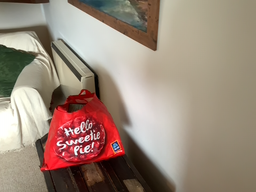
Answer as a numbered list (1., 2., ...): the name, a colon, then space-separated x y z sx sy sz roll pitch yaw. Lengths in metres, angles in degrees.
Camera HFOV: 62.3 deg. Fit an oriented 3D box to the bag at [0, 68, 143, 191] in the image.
1. bag: -0.310 0.190 1.140 0.580 0.410 0.520 -14 36 -21
